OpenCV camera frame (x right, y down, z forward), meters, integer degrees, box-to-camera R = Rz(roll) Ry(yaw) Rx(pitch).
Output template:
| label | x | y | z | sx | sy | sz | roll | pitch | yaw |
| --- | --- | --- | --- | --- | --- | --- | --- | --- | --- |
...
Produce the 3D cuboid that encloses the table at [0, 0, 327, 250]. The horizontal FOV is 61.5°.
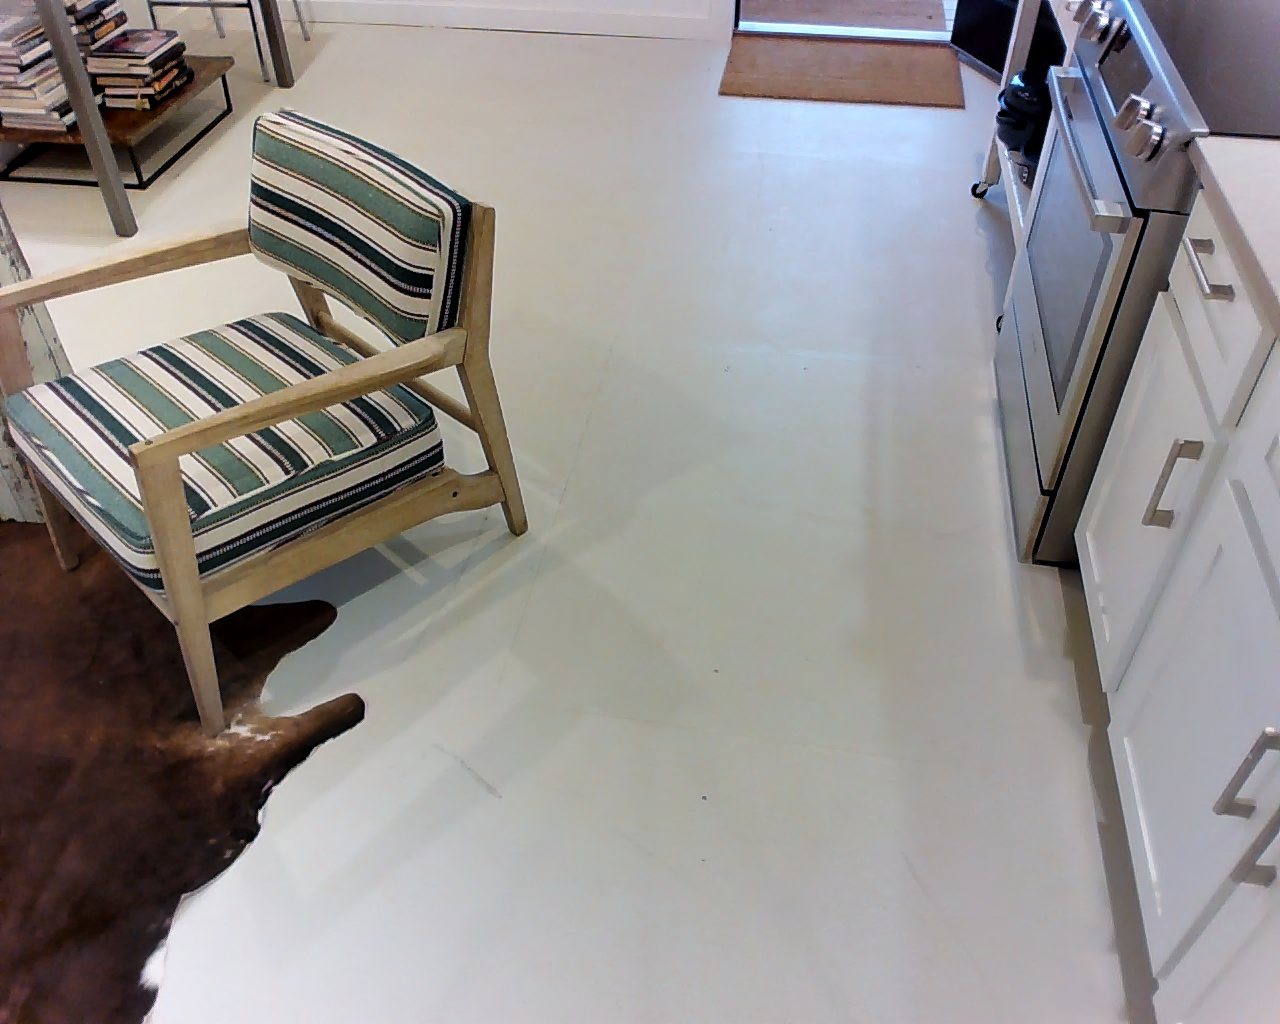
| label | x | y | z | sx | sy | sz | roll | pitch | yaw |
| --- | --- | --- | --- | --- | --- | --- | --- | --- | --- |
| table | -1.760 | -1.710 | 3.470 | 0.770 | 1.080 | 1.440 | 6 | 42 | 8 |
